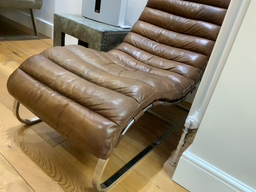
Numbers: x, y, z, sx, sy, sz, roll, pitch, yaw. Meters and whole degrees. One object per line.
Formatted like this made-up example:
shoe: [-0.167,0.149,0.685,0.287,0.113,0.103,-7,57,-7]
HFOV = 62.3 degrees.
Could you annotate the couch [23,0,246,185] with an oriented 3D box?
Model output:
couch: [0.080,-0.250,1.230,0.620,0.800,1.060,29,31,29]

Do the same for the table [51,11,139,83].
table: [-0.310,-0.470,1.910,0.570,0.420,0.480,29,31,29]
